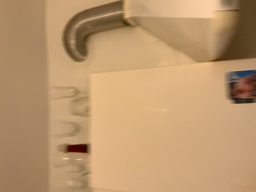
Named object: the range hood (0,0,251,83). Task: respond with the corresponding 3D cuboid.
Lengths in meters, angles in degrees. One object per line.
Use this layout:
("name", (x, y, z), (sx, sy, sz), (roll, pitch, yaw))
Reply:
("range hood", (0.010, -0.380, 0.790), (0.690, 0.650, 0.560), (3, -96, -69))
